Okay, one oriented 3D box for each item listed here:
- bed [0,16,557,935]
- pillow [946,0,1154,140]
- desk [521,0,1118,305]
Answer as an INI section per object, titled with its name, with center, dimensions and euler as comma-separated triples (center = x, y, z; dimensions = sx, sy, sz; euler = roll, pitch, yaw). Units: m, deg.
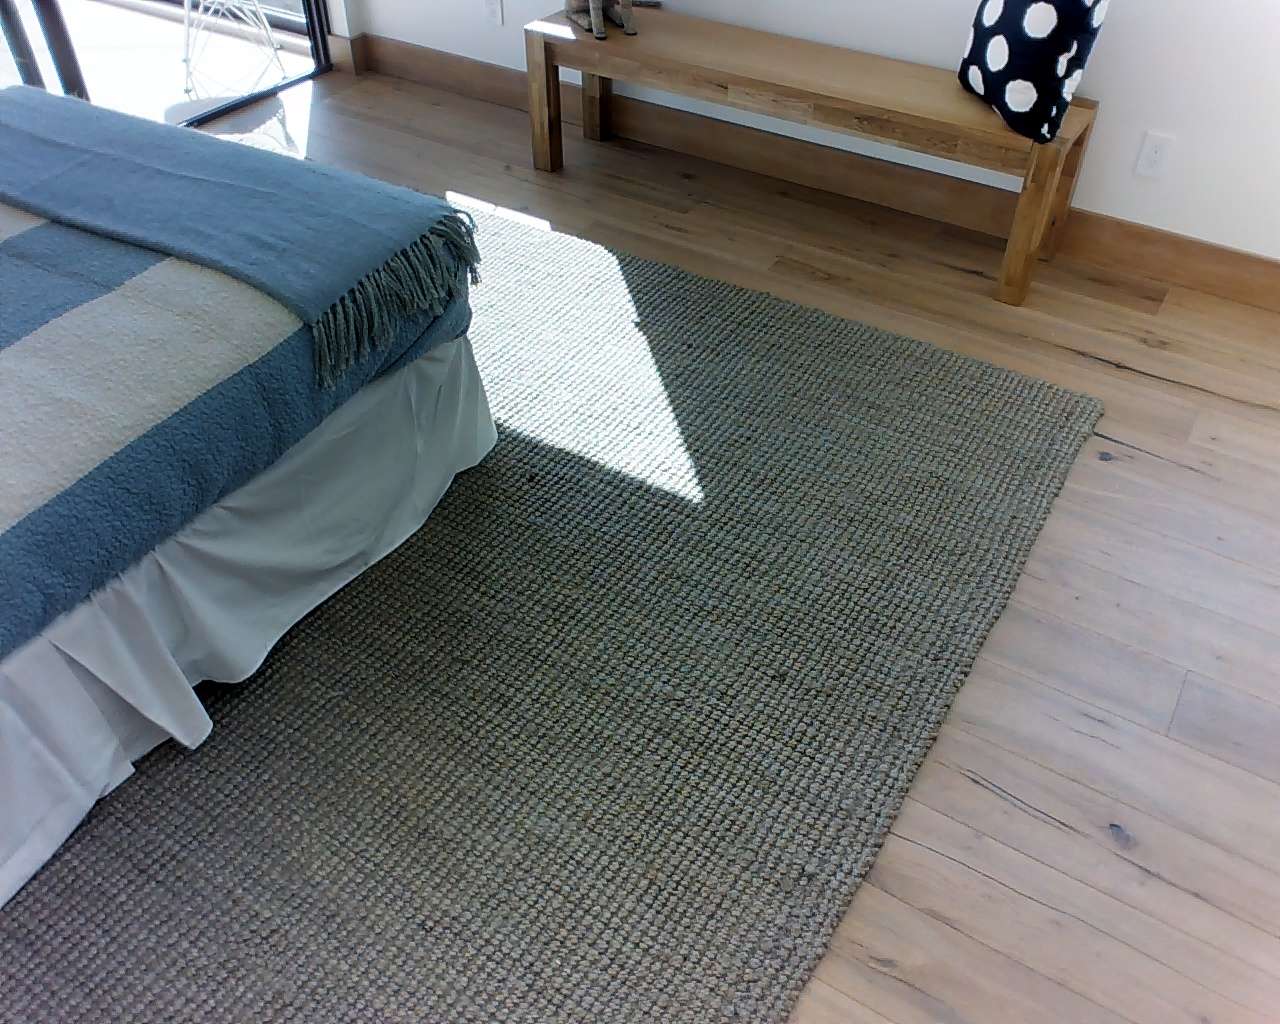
[bed]
center = -1.410, -0.110, 1.970
dimensions = 1.520, 0.680, 2.160
euler = 23, 47, 22
[pillow]
center = 1.050, -1.280, 2.790
dimensions = 0.340, 0.440, 0.460
euler = 2, 42, 1
[desk]
center = 0.470, -1.200, 3.330
dimensions = 1.730, 0.490, 0.420
euler = 23, 47, 22
